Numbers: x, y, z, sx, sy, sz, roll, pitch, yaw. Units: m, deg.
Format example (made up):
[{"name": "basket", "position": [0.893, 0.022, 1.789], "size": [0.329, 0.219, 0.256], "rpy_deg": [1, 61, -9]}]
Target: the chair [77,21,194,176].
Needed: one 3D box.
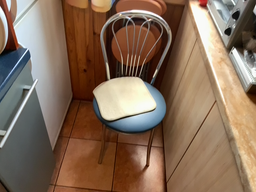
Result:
[{"name": "chair", "position": [0.020, 0.040, 1.290], "size": [0.470, 0.720, 0.540], "rpy_deg": [8, 46, 0]}]
